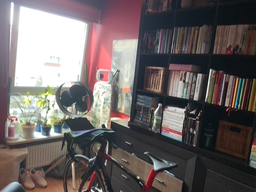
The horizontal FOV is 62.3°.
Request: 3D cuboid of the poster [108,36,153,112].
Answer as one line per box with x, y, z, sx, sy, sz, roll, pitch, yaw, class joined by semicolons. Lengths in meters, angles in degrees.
0.010;-0.290;2.670;0.110;0.880;0.560;-1;10;-44;poster
